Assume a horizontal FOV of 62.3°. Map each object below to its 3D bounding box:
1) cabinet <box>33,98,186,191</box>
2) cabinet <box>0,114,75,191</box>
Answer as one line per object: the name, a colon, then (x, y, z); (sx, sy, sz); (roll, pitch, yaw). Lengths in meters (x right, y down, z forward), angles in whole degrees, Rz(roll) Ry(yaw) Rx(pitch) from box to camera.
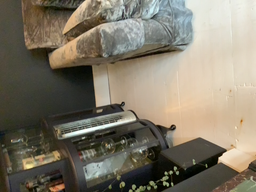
cabinet: (-0.230, 0.350, 1.800); (1.090, 0.840, 0.310); (22, 115, 52)
cabinet: (-0.680, 0.430, 1.470); (0.930, 0.290, 0.310); (22, 115, 52)
